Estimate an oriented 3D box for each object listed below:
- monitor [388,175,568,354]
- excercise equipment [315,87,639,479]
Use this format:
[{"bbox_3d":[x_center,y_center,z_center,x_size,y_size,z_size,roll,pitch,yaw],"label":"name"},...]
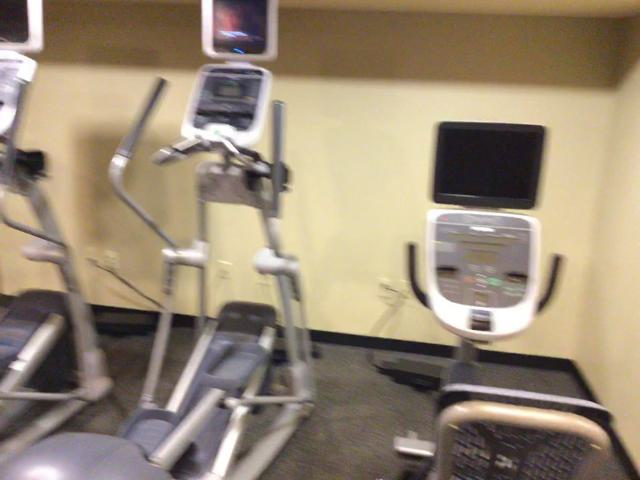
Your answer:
[{"bbox_3d":[0.510,0.080,1.910,0.360,0.460,0.080,37,7,3],"label":"monitor"},{"bbox_3d":[0.480,0.330,1.740,0.720,1.500,1.500,4,15,10],"label":"excercise equipment"}]
